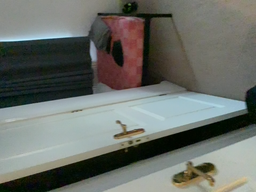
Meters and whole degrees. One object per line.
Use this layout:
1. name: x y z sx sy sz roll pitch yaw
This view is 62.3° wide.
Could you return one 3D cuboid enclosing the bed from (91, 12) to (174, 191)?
1. bed: -0.040 0.010 2.690 1.050 0.460 1.980 36 130 55
